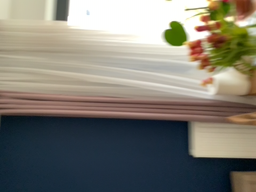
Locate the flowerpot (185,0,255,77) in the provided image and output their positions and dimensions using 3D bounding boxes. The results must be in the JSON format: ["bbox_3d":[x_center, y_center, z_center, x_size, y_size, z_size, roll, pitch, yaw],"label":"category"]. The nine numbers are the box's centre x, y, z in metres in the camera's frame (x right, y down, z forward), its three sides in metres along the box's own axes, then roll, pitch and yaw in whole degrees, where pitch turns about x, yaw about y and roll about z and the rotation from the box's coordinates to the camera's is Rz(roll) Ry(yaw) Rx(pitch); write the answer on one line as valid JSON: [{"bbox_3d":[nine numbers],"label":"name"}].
[{"bbox_3d":[0.630,-0.320,1.320,0.500,0.410,0.350,-134,46,-89],"label":"flowerpot"}]
